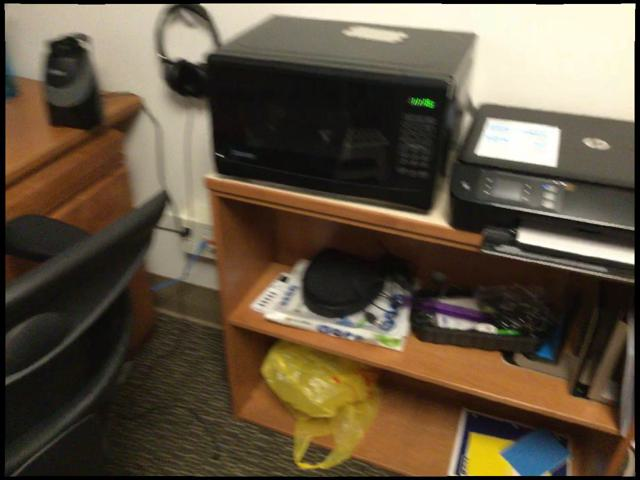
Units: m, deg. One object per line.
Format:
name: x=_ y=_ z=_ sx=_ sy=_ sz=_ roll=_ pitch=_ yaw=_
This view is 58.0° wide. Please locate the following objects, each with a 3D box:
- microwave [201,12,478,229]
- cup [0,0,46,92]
microwave: x=0.050 y=-0.261 z=1.150 sx=0.429 sy=0.250 sz=0.340 roll=14 pitch=37 yaw=17
cup: x=-0.858 y=-0.531 z=1.520 sx=0.110 sy=0.220 sz=0.180 roll=14 pitch=37 yaw=17
